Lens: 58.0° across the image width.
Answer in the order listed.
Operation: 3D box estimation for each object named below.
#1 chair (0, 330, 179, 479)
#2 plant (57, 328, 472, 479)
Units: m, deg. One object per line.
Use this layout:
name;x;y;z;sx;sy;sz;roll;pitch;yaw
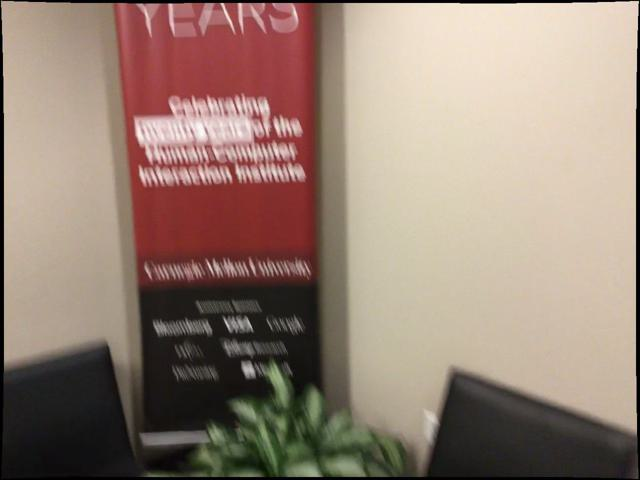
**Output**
chair;-0.898;0.712;1.960;0.589;0.471;0.710;-14;17;-32
plant;-0.190;0.742;1.850;0.998;0.411;0.869;-14;17;-32
